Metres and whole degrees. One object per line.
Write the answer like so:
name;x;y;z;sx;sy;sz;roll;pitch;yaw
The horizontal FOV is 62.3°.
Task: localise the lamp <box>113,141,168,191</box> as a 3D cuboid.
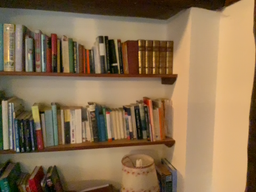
lamp;0.050;0.520;1.280;0.230;0.380;0.390;-1;6;-13
